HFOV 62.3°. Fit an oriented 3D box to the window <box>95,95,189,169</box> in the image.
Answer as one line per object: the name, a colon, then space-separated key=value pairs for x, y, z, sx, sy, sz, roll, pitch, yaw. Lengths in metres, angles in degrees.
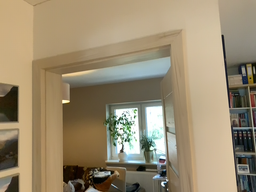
window: x=0.200 y=0.690 z=4.110 sx=1.800 sy=1.290 sz=0.120 roll=-4 pitch=-6 yaw=21

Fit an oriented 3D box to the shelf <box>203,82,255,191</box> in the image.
shelf: x=1.810 y=0.890 z=3.300 sx=1.050 sy=2.160 sz=0.350 roll=-5 pitch=-6 yaw=22

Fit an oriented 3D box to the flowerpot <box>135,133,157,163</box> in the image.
flowerpot: x=0.350 y=1.010 z=4.150 sx=0.350 sy=0.540 sz=0.200 roll=-5 pitch=-7 yaw=24
